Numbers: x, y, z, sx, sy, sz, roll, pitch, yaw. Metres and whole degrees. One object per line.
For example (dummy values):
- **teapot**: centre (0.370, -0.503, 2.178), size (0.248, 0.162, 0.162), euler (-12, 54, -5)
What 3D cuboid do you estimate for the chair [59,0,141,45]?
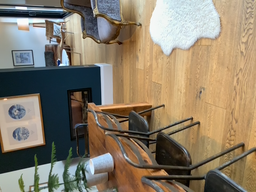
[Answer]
- **chair**: centre (-0.410, -1.120, 2.840), size (0.770, 0.830, 0.660), euler (169, 94, -65)
